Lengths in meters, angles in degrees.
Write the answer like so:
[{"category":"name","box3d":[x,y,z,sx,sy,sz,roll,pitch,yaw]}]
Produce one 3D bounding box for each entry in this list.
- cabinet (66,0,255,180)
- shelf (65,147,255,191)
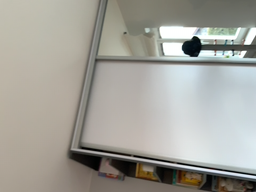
[{"category":"cabinet","box3d":[0.960,-0.200,2.040,0.700,2.640,1.810,52,-135,-68]},{"category":"shelf","box3d":[0.810,0.760,1.810,0.640,2.640,0.190,52,-134,-68]}]
